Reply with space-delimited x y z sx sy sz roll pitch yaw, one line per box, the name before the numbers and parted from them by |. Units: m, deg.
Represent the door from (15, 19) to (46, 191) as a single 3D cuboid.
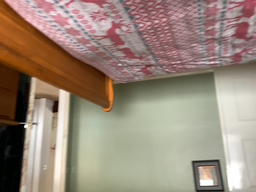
door | -0.970 0.560 2.020 0.110 2.410 0.800 6 164 -25
